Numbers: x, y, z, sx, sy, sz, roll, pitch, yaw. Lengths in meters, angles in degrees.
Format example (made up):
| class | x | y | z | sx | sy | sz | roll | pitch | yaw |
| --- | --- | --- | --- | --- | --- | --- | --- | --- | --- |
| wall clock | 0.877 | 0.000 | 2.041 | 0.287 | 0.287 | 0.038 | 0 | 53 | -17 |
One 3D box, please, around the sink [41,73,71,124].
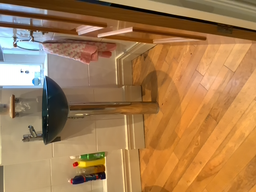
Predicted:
| class | x | y | z | sx | sy | sz | roll | pitch | yaw |
| --- | --- | --- | --- | --- | --- | --- | --- | --- | --- |
| sink | -0.500 | 0.030 | 1.450 | 0.290 | 0.150 | 0.310 | 163 | 104 | -63 |
